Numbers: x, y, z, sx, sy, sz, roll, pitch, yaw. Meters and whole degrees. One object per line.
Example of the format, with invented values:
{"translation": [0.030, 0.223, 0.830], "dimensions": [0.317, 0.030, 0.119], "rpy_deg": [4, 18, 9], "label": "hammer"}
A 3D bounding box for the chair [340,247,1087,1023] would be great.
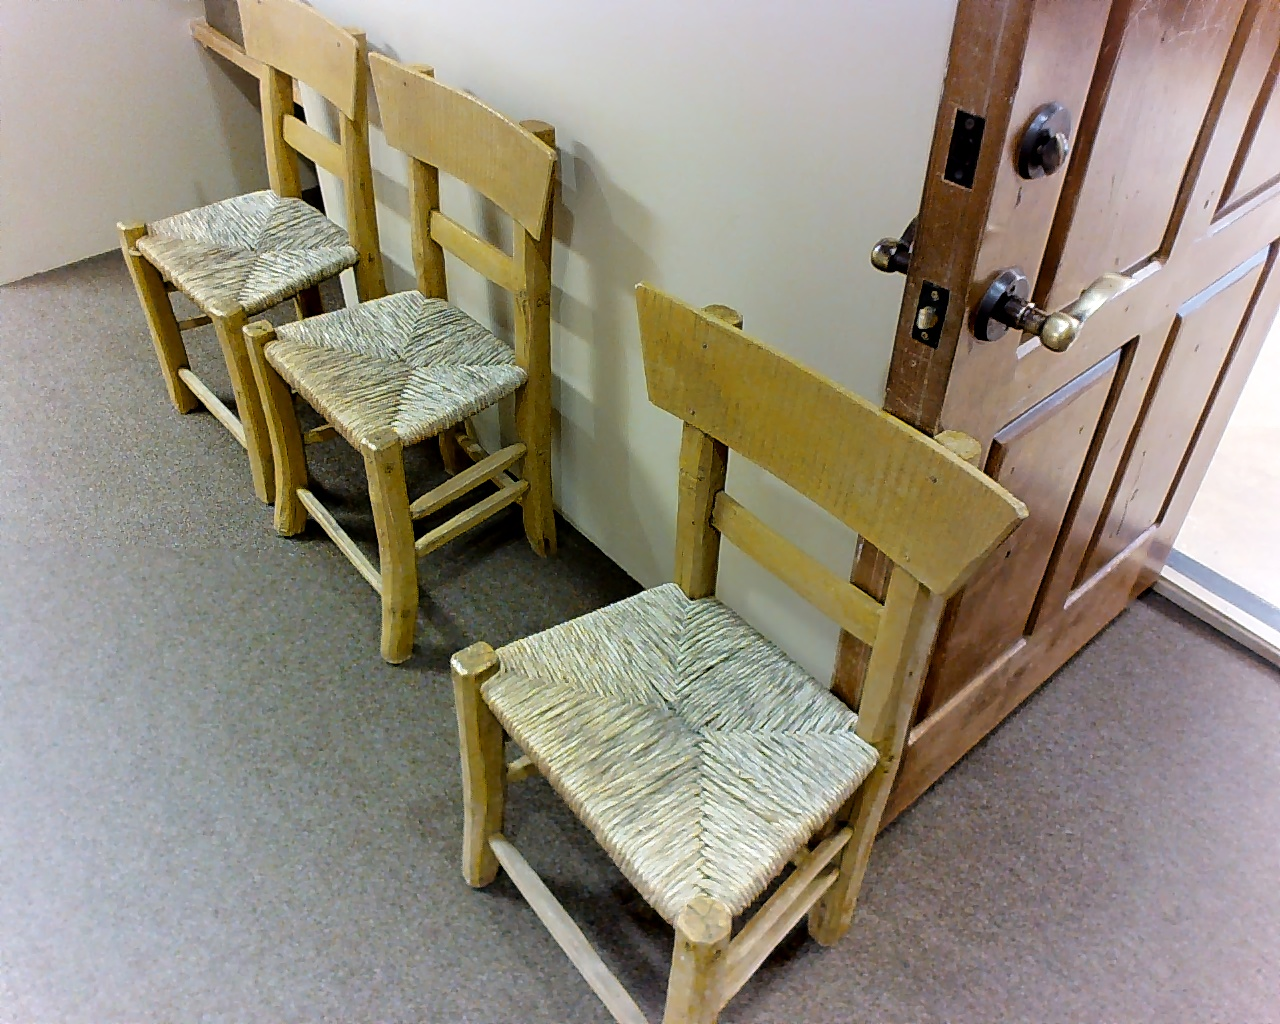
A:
{"translation": [0.050, 0.240, 1.260], "dimensions": [0.430, 0.850, 0.540], "rpy_deg": [-29, 49, -29], "label": "chair"}

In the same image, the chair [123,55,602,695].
{"translation": [-0.420, -0.230, 1.820], "dimensions": [0.460, 0.830, 0.530], "rpy_deg": [-29, 49, -29], "label": "chair"}

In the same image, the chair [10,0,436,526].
{"translation": [-0.780, -0.510, 2.120], "dimensions": [0.430, 0.840, 0.520], "rpy_deg": [-29, 49, -29], "label": "chair"}
